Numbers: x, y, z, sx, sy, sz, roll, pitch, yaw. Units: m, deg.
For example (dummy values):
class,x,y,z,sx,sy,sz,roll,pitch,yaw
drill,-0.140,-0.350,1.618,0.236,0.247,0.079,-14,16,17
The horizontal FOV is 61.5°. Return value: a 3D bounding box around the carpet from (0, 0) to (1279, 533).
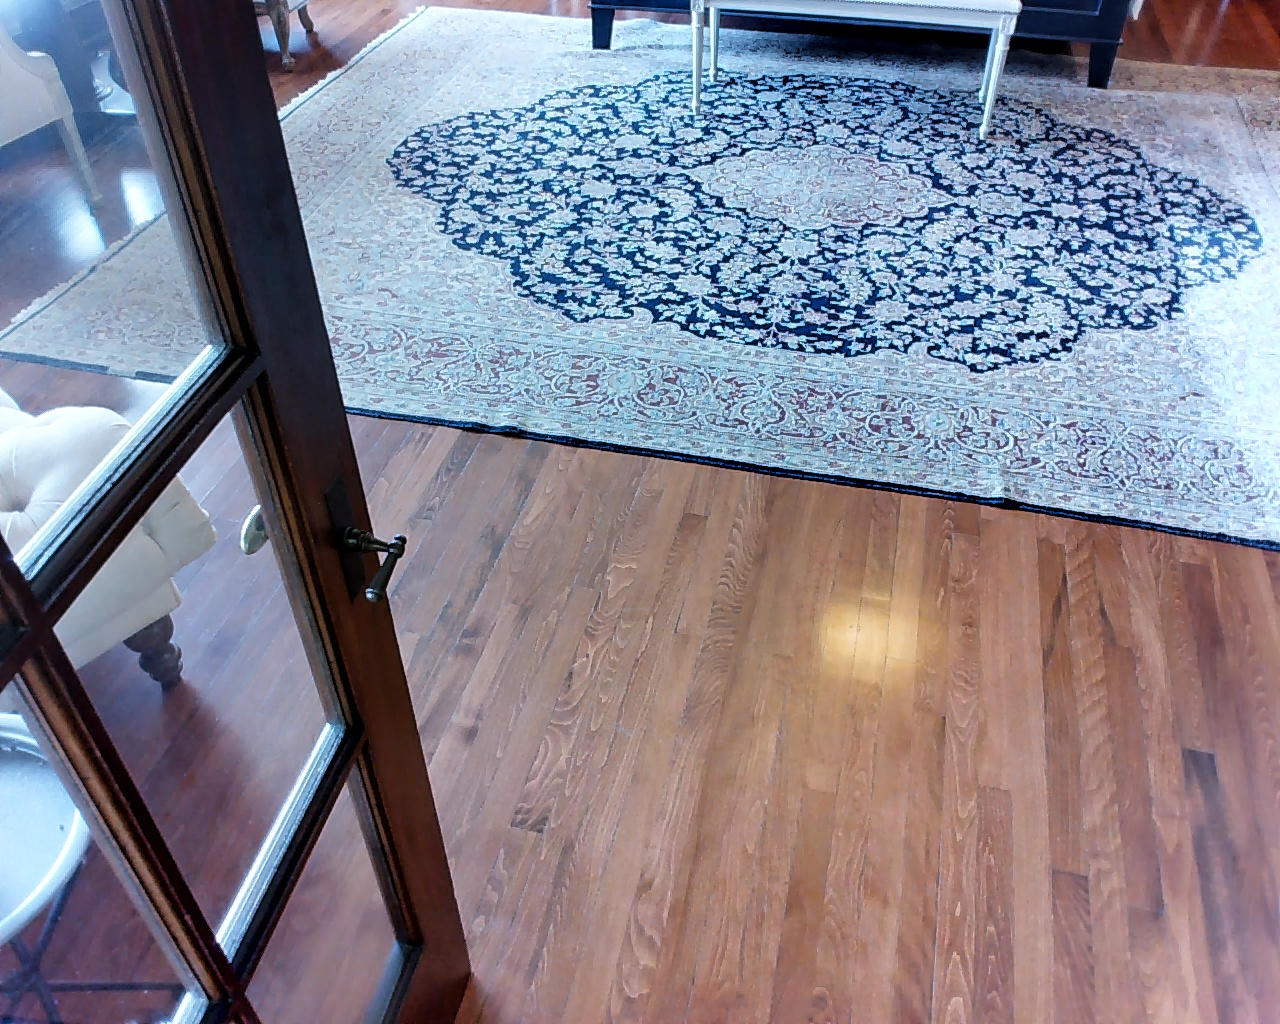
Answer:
class,x,y,z,sx,sy,sz,roll,pitch,yaw
carpet,0.530,-1.160,3.560,4.090,0.080,3.050,9,43,10
